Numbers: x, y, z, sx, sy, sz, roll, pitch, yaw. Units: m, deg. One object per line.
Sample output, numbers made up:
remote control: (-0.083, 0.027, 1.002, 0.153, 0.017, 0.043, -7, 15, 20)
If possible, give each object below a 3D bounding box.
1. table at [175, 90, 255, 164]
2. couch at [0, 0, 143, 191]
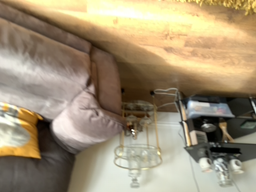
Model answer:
table: (1.030, 0.300, 1.950, 1.040, 0.530, 0.370, 3, 145, -6)
couch: (-0.680, 0.130, 1.300, 1.140, 0.960, 0.970, 18, 141, -25)
